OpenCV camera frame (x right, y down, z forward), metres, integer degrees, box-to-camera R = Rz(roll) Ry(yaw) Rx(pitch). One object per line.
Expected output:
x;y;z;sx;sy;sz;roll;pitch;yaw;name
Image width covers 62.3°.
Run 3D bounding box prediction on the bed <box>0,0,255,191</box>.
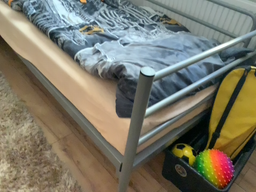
-0.410;-0.420;1.570;0.920;0.530;2.180;-28;52;-36;bed
